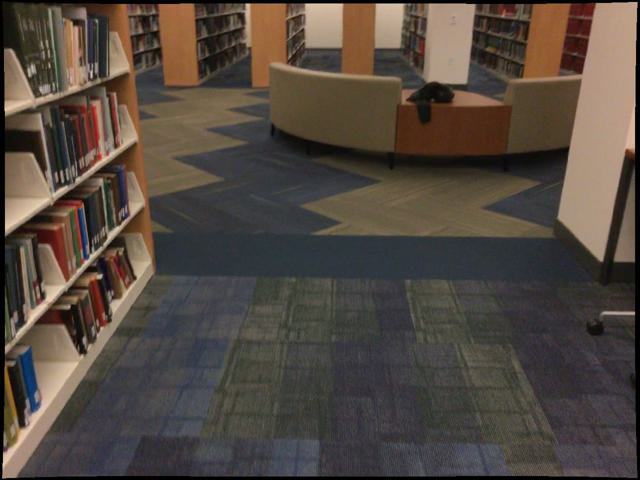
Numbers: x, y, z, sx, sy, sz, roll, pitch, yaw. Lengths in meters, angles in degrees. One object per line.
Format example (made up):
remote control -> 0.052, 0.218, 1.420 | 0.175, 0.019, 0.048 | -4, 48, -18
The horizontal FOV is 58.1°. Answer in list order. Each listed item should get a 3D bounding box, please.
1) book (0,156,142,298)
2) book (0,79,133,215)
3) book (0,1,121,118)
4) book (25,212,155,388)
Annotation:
book -> -1.027, -0.100, 2.490 | 0.219, 0.281, 0.910 | 1, 24, 0
book -> -1.067, -0.421, 2.350 | 0.279, 0.311, 0.940 | 1, 24, 0
book -> -1.027, -0.712, 2.180 | 0.249, 0.331, 0.780 | 1, 24, 0
book -> -0.977, 0.221, 2.580 | 0.190, 0.391, 0.880 | 1, 24, 0
